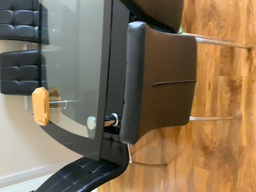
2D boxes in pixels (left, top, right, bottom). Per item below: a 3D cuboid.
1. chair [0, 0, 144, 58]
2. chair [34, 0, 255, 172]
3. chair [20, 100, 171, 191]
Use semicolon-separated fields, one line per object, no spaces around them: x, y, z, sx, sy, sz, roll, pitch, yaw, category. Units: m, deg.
-0.430;-0.540;1.630;0.620;0.950;0.360;4;95;46;chair
0.150;-0.070;1.040;0.610;0.960;0.400;11;100;45;chair
-0.180;0.390;1.440;0.390;0.900;0.620;17;104;44;chair
